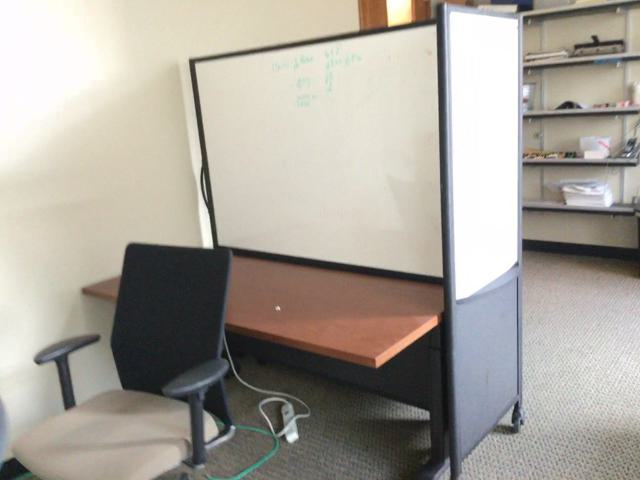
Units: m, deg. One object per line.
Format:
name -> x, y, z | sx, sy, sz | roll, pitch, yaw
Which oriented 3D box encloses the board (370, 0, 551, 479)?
board -> 0.530, -0.060, 1.960 | 0.130, 1.680, 0.690 | 2, 18, 42
